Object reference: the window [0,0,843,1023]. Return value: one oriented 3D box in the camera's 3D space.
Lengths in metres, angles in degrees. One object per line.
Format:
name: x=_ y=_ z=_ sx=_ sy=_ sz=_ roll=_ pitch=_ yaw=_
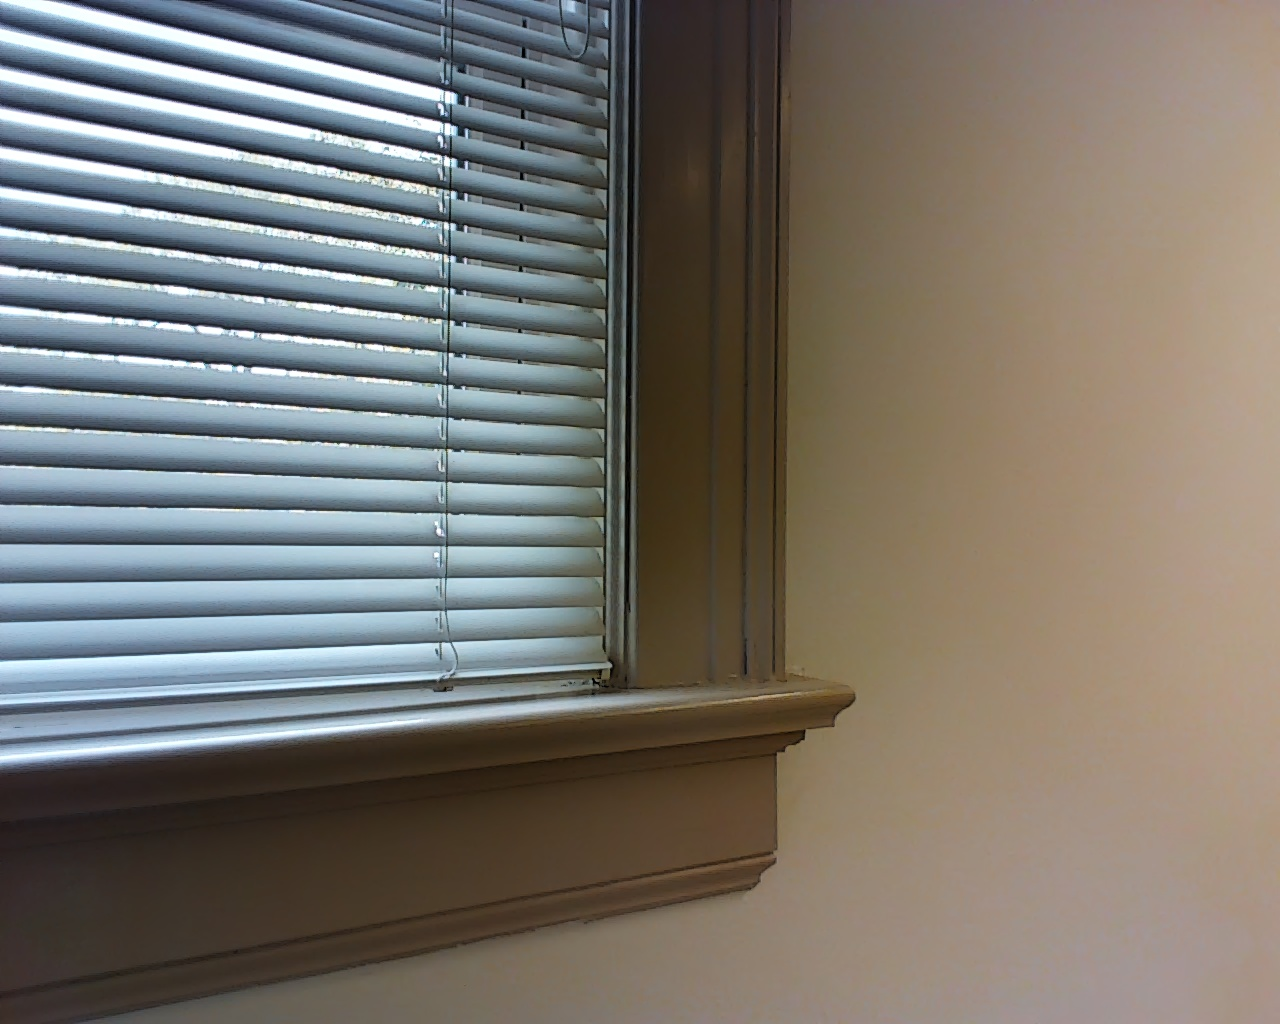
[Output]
window: x=-0.250 y=-0.340 z=0.570 sx=0.840 sy=1.160 sz=0.100 roll=1 pitch=0 yaw=-30
